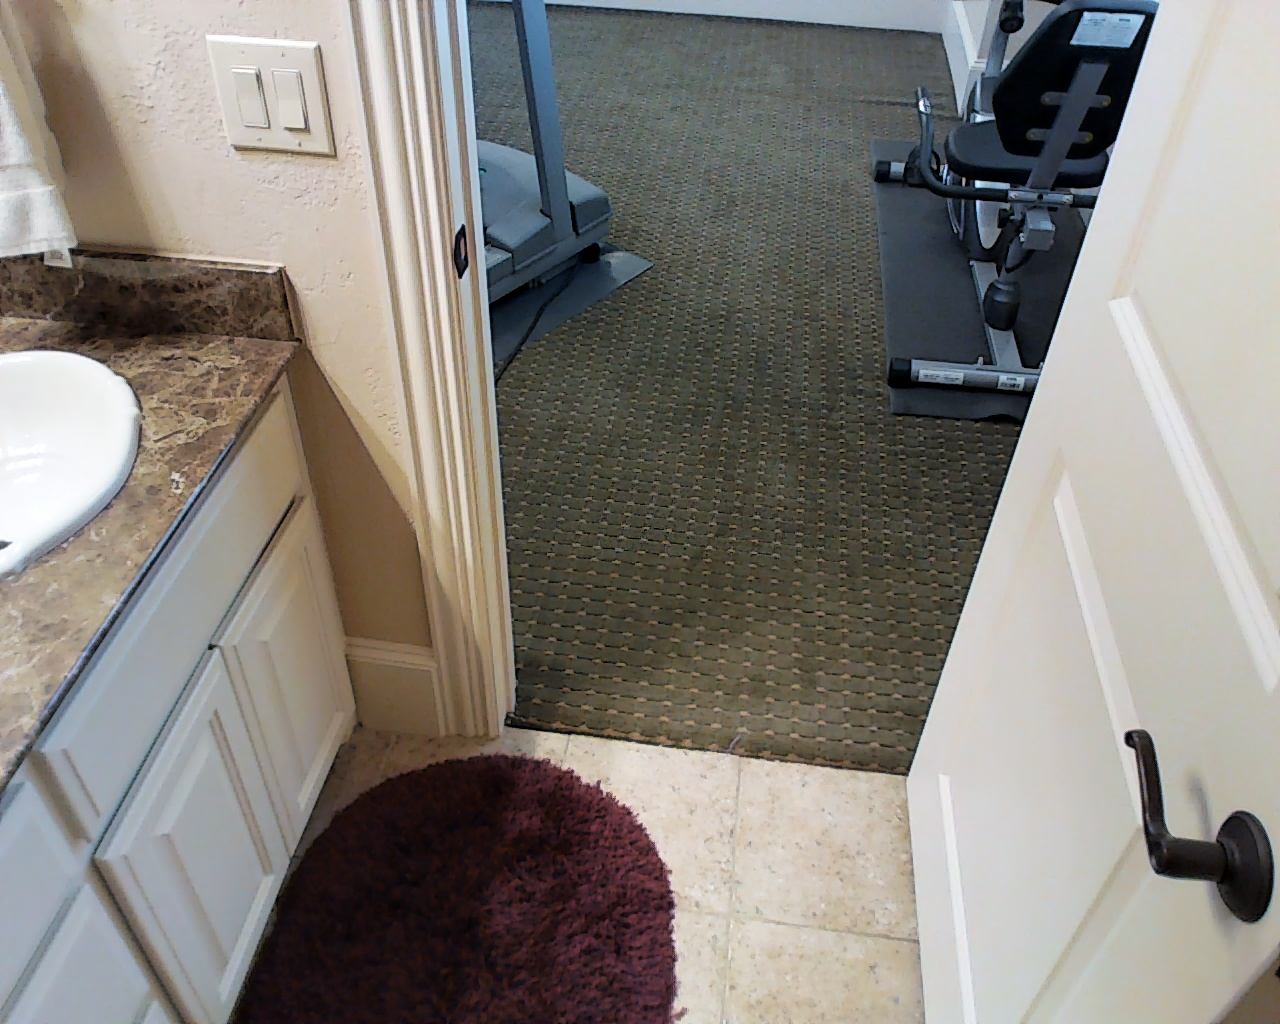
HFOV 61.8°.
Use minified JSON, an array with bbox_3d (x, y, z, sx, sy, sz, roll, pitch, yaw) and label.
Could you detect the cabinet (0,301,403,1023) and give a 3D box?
[{"bbox_3d":[-0.780,0.390,1.300,0.580,0.820,1.060,7,42,5],"label":"cabinet"}]
